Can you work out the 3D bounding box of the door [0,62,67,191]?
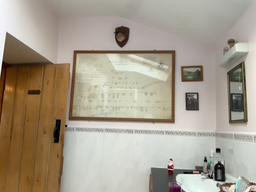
[{"bbox_3d":[-1.060,0.630,2.060,0.890,1.910,0.070,-1,-8,18],"label":"door"}]
